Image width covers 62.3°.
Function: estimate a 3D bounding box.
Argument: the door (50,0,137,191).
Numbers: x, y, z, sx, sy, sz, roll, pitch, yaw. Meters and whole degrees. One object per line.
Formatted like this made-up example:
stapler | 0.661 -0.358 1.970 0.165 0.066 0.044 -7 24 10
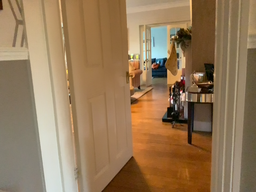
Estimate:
door | -0.180 -0.230 1.630 0.090 2.000 0.920 2 12 24
